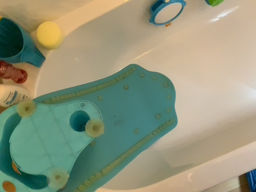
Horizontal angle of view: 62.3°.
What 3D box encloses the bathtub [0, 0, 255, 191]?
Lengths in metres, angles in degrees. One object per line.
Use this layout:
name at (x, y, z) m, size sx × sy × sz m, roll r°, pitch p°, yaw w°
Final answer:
bathtub at (0.420, -0.100, 0.940) m, size 1.680 × 0.580 × 0.830 m, roll -25°, pitch 79°, yaw 4°
